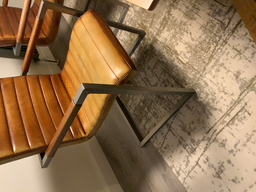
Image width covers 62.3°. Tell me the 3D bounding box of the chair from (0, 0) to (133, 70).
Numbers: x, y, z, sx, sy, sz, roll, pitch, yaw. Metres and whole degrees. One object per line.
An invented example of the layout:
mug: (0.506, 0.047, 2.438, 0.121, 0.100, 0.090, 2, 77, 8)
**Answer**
chair: (-0.580, -0.640, 1.450, 0.580, 0.890, 0.620, 55, 127, 32)

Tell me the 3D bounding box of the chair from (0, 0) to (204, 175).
chair: (-0.220, -0.090, 1.070, 0.630, 0.860, 0.540, -55, 52, 32)
